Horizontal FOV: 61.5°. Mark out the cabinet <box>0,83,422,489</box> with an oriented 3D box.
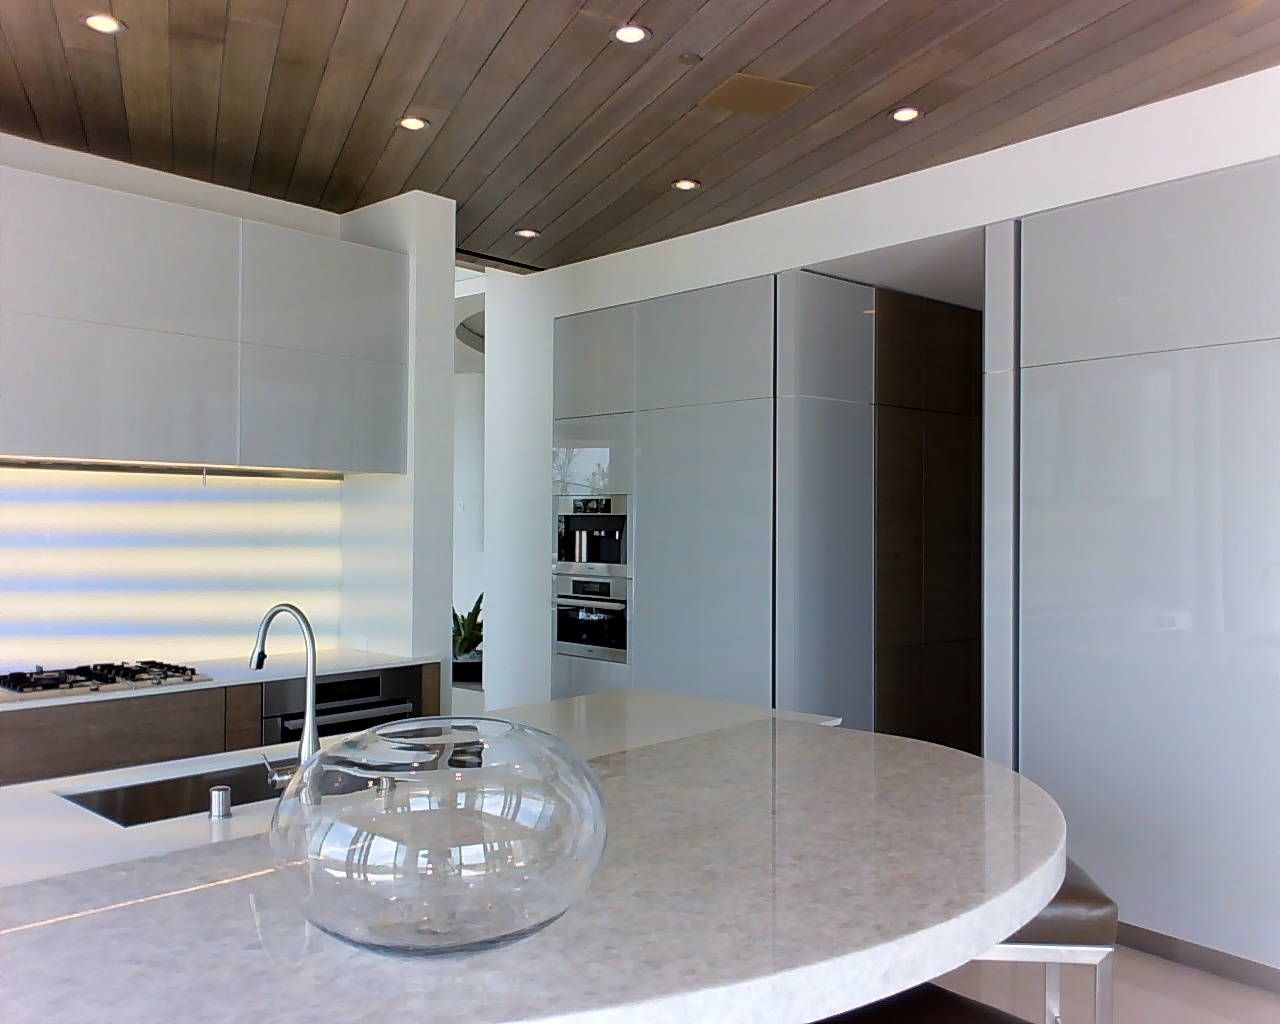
[{"bbox_3d":[-2.350,-0.790,3.930,0.670,1.320,3.240,0,-1,44],"label":"cabinet"}]
